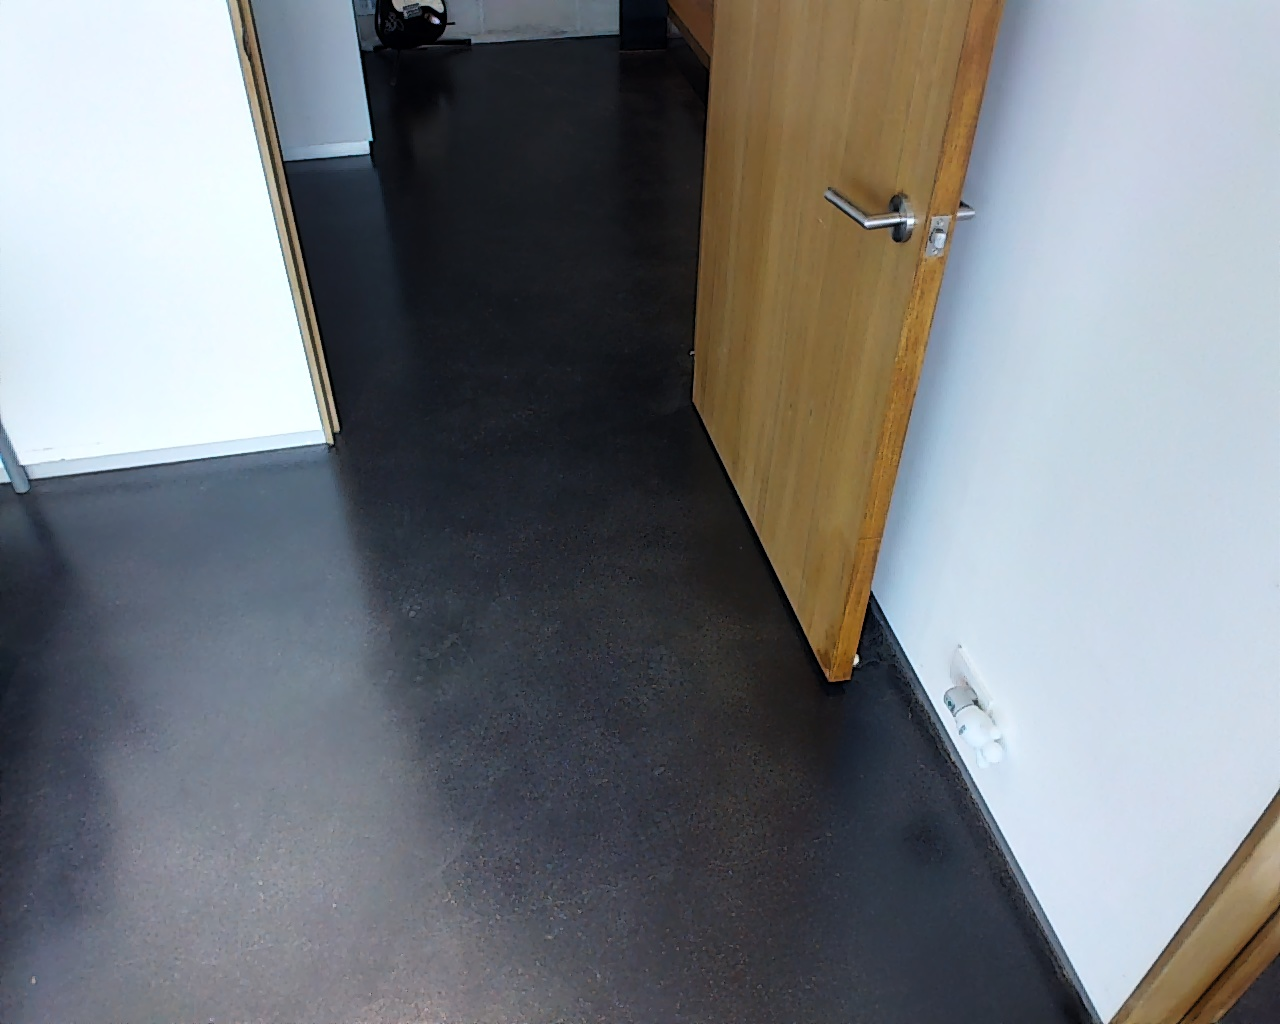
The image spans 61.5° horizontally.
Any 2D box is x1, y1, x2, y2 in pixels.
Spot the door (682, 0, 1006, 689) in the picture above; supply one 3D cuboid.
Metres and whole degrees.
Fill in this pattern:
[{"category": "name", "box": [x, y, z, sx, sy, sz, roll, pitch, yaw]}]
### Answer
[{"category": "door", "box": [0.270, -0.860, 1.610, 0.070, 2.340, 0.990, -8, 43, -10]}]
